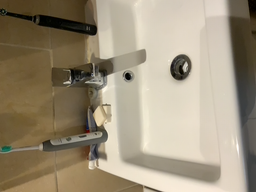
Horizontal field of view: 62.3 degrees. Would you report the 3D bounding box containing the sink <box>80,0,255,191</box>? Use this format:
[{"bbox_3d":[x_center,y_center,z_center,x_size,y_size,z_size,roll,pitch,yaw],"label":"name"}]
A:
[{"bbox_3d":[0.060,-0.070,0.500,0.430,0.140,0.530,-9,83,51],"label":"sink"}]
